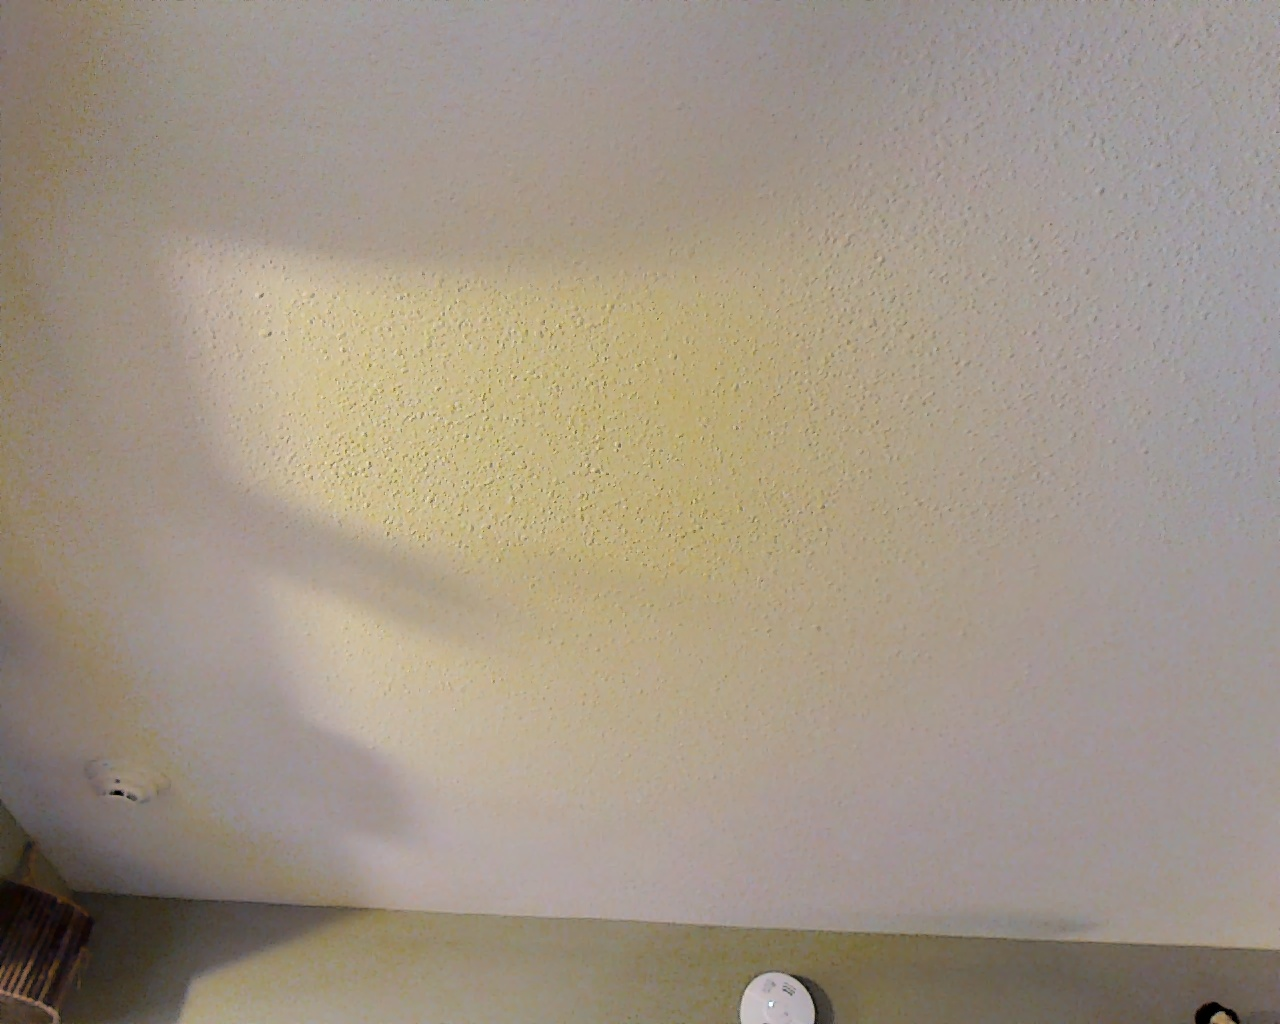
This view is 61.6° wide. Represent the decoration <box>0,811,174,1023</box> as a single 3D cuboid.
[{"bbox_3d":[-1.070,0.750,1.930,0.230,0.280,0.280,-28,-50,29],"label":"decoration"}]
